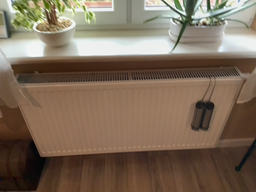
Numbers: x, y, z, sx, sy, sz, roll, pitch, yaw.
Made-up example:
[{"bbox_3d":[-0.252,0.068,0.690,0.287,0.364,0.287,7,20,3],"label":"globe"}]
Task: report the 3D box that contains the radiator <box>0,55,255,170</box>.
[{"bbox_3d":[0.010,0.130,1.390,1.280,0.710,0.280,-2,40,-4],"label":"radiator"}]
